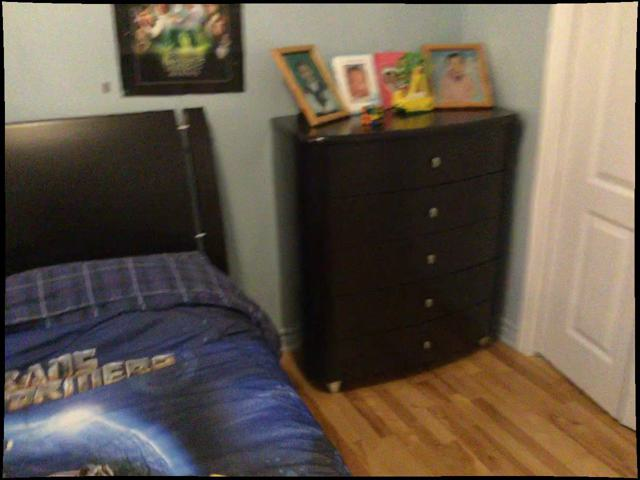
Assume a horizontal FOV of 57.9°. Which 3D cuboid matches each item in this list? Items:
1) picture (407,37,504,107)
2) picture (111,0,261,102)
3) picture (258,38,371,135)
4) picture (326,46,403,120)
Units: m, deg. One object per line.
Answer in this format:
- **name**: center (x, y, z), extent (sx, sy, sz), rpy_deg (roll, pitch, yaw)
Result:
- **picture**: center (0.519, -0.661, 2.250), extent (0.260, 0.220, 0.240), rpy_deg (-13, 26, -24)
- **picture**: center (-0.430, -0.751, 1.860), extent (0.450, 0.550, 0.060), rpy_deg (-13, 26, -24)
- **picture**: center (-0.020, -0.541, 2.000), extent (0.290, 0.270, 0.270), rpy_deg (-13, 26, -24)
- **picture**: center (0.160, -0.581, 2.120), extent (0.200, 0.220, 0.200), rpy_deg (-13, 26, -24)
